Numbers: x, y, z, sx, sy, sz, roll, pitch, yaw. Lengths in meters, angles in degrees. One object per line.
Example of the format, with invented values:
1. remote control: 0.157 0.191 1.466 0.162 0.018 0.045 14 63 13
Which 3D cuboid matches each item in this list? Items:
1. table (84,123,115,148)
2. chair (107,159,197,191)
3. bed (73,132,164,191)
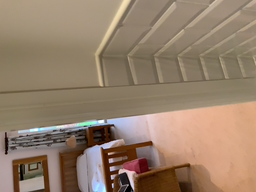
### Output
1. table: -0.600 0.820 4.430 0.320 0.520 0.410 145 117 -63
2. chair: 0.240 1.050 2.270 0.700 0.670 0.570 149 114 -64
3. bed: -0.310 1.330 3.550 2.060 0.770 1.110 145 117 -63
